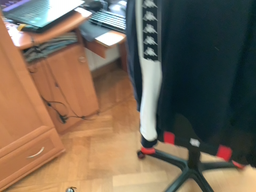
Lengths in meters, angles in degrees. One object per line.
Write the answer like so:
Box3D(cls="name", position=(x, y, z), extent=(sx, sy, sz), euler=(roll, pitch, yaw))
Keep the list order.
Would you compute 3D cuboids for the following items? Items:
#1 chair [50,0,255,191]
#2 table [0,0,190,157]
Box3D(cls="chair", position=(0.300, -0.040, 0.940), extent=(0.660, 1.370, 0.730), euler=(14, 46, 21))
Box3D(cls="table", position=(-0.190, -0.330, 1.710), extent=(1.200, 0.840, 0.690), euler=(-34, 49, -27))
